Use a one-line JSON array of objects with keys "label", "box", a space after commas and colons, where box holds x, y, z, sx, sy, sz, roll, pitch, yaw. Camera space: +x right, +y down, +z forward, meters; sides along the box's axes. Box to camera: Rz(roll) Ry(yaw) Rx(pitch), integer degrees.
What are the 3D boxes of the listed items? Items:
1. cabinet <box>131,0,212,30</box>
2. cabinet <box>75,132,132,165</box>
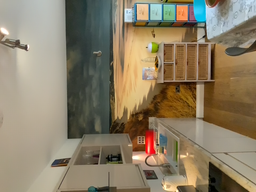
[{"label": "cabinet", "box": [0.710, -1.340, 3.550, 0.340, 1.290, 0.320, -162, 72, -84]}, {"label": "cabinet", "box": [-0.380, 0.810, 3.370, 0.660, 0.810, 0.320, -158, 69, -84]}]
